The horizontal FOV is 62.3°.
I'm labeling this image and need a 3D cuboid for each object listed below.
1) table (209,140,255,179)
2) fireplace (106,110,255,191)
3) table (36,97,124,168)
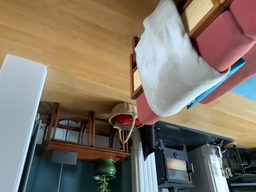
[{"bbox_3d":[2.120,1.190,3.870,1.050,0.410,0.590,16,142,-25],"label":"table"},{"bbox_3d":[0.730,1.190,3.010,1.800,1.300,1.020,16,142,-25],"label":"fireplace"},{"bbox_3d":[-0.580,0.500,2.610,0.830,0.510,0.690,16,142,-25],"label":"table"}]
